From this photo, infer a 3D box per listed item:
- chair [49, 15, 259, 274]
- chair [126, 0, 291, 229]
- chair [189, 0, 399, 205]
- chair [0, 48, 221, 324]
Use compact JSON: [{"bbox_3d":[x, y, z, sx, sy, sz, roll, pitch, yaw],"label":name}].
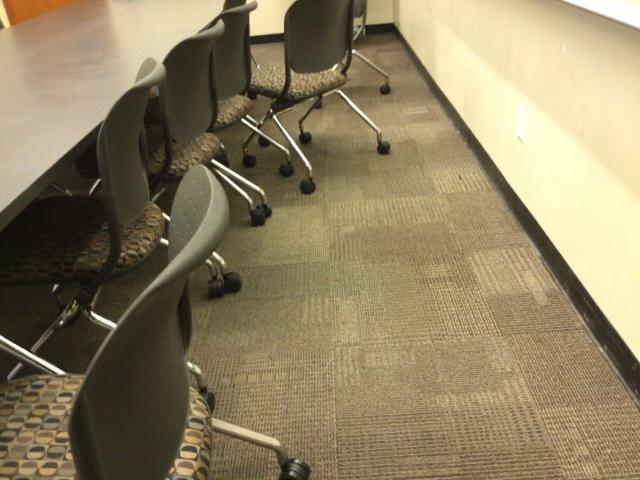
[{"bbox_3d":[-0.520,-0.370,2.090,0.450,0.750,0.630,-4,25,2],"label":"chair"},{"bbox_3d":[-0.420,-0.580,2.530,0.480,0.830,0.670,-4,25,2],"label":"chair"},{"bbox_3d":[-0.100,-0.740,2.790,0.740,0.870,0.580,17,33,38],"label":"chair"},{"bbox_3d":[-0.590,-0.180,1.580,0.470,0.550,0.590,-4,25,2],"label":"chair"}]
